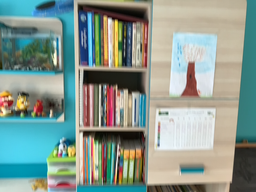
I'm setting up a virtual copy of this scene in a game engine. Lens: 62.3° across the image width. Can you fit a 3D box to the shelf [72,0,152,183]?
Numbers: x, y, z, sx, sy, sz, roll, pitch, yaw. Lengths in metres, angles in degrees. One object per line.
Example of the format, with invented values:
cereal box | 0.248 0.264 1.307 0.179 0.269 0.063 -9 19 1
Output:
shelf | -0.100 -0.030 1.210 0.350 0.870 0.420 1 9 -6
